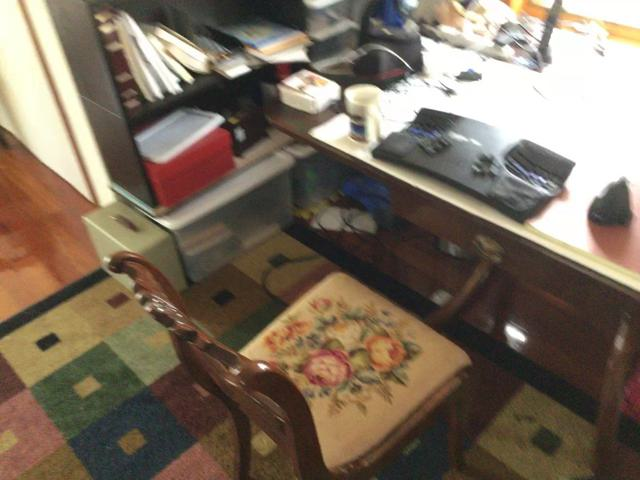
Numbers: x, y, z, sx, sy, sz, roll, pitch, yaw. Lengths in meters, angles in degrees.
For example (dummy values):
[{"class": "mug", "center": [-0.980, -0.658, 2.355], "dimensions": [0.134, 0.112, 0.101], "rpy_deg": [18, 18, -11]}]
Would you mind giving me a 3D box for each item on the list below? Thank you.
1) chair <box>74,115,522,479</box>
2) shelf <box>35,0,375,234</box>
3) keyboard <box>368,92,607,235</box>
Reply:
[{"class": "chair", "center": [0.000, 0.310, 1.250], "dimensions": [0.600, 0.890, 0.470], "rpy_deg": [-32, 44, -30]}, {"class": "shelf", "center": [-0.310, -0.630, 2.030], "dimensions": [1.030, 0.750, 0.380], "rpy_deg": [-32, 44, -30]}, {"class": "keyboard", "center": [0.350, -0.190, 1.280], "dimensions": [0.230, 0.090, 0.450], "rpy_deg": [-32, 44, -30]}]
